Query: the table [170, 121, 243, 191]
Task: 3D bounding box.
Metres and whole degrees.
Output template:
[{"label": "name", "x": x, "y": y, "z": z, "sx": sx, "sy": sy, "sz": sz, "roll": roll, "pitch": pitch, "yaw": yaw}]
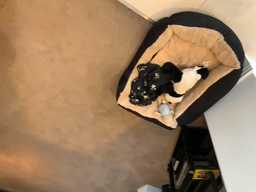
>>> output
[{"label": "table", "x": 0.700, "y": 0.700, "z": 2.100, "sx": 0.400, "sy": 0.450, "sz": 0.850, "roll": 1, "pitch": 134, "yaw": 2}]
